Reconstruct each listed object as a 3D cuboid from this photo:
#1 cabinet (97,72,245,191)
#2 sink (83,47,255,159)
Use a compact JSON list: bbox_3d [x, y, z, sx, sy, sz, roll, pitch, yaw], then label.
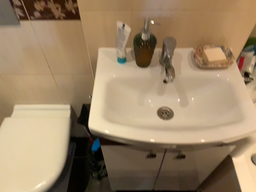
[{"bbox_3d":[0.140,0.240,1.080,0.490,0.710,0.320,0,53,-1],"label":"cabinet"},{"bbox_3d":[0.140,0.010,0.730,0.520,0.140,0.370,0,53,-1],"label":"sink"}]
